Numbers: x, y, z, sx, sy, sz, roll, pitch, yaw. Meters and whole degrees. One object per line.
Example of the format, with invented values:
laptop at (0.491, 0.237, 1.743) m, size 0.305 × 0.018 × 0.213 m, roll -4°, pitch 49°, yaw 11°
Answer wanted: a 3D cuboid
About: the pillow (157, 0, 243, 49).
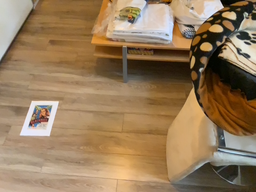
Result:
pillow at (0.480, -0.640, 1.570) m, size 0.500 × 0.140 × 0.660 m, roll 4°, pitch 53°, yaw 2°
